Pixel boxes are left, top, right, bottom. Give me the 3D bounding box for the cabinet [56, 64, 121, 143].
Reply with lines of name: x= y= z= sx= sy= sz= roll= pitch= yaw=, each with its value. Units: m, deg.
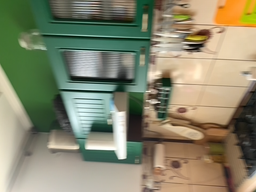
cabinet: x=-0.270 y=0.080 z=1.700 sx=0.600 sy=0.380 sz=0.290 roll=90 pitch=-176 yaw=-47
